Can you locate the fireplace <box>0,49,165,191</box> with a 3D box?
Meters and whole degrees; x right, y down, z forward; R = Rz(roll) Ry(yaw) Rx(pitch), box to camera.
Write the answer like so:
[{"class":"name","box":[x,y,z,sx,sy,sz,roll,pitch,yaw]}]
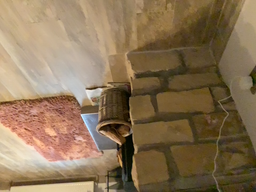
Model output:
[{"class":"fireplace","box":[-0.140,0.730,2.150,0.830,0.980,2.230,-7,147,4]}]
